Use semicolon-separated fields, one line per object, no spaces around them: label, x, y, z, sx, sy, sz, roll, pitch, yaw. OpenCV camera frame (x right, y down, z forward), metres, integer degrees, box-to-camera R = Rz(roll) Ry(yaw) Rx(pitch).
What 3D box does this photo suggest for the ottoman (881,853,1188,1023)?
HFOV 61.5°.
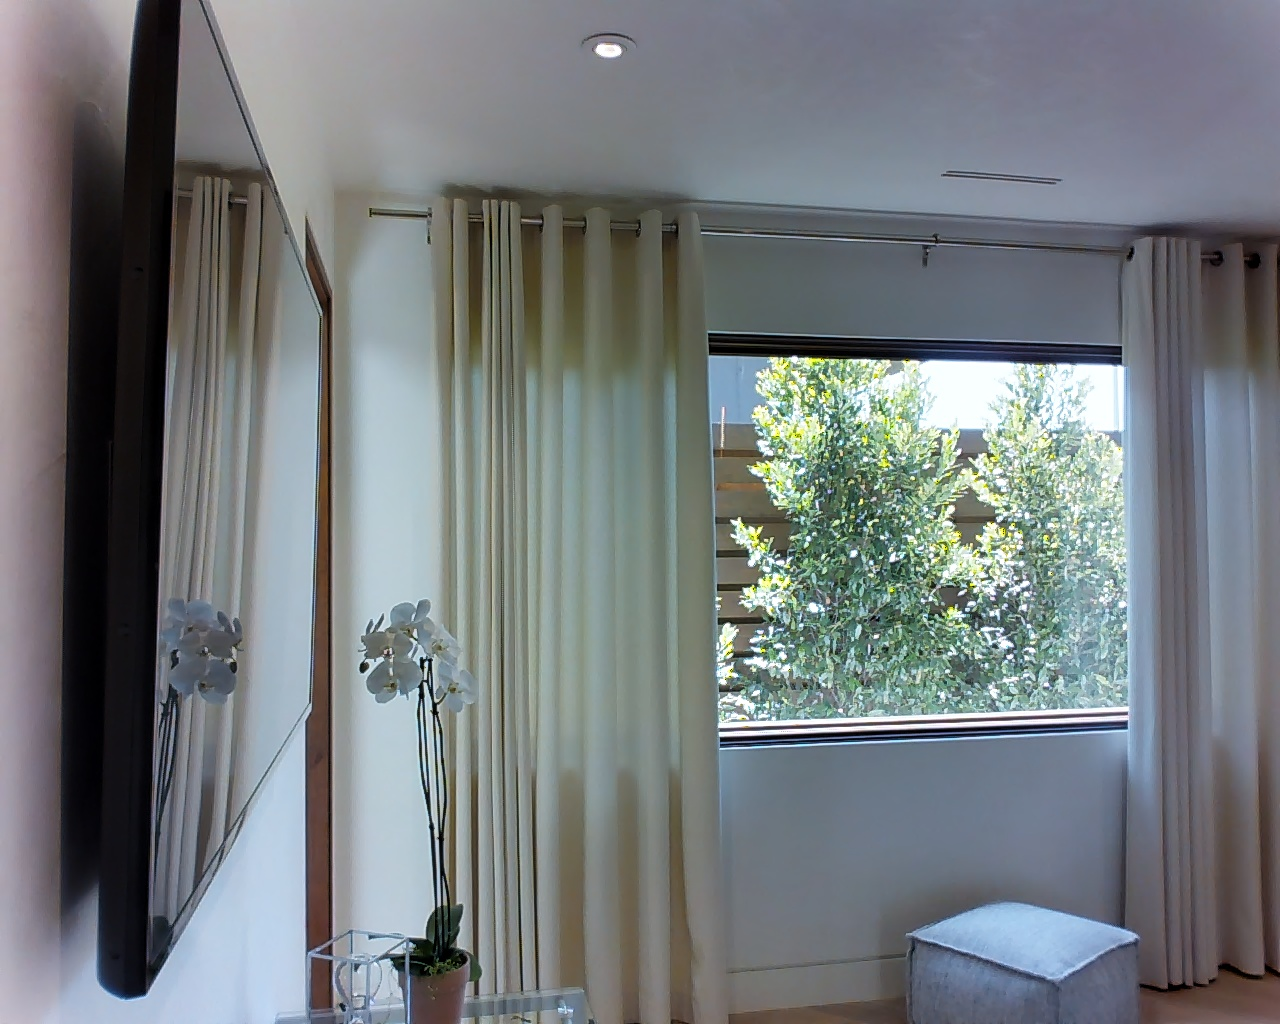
ottoman;1.310;1.500;3.570;0.750;0.430;0.690;1;-2;-44
